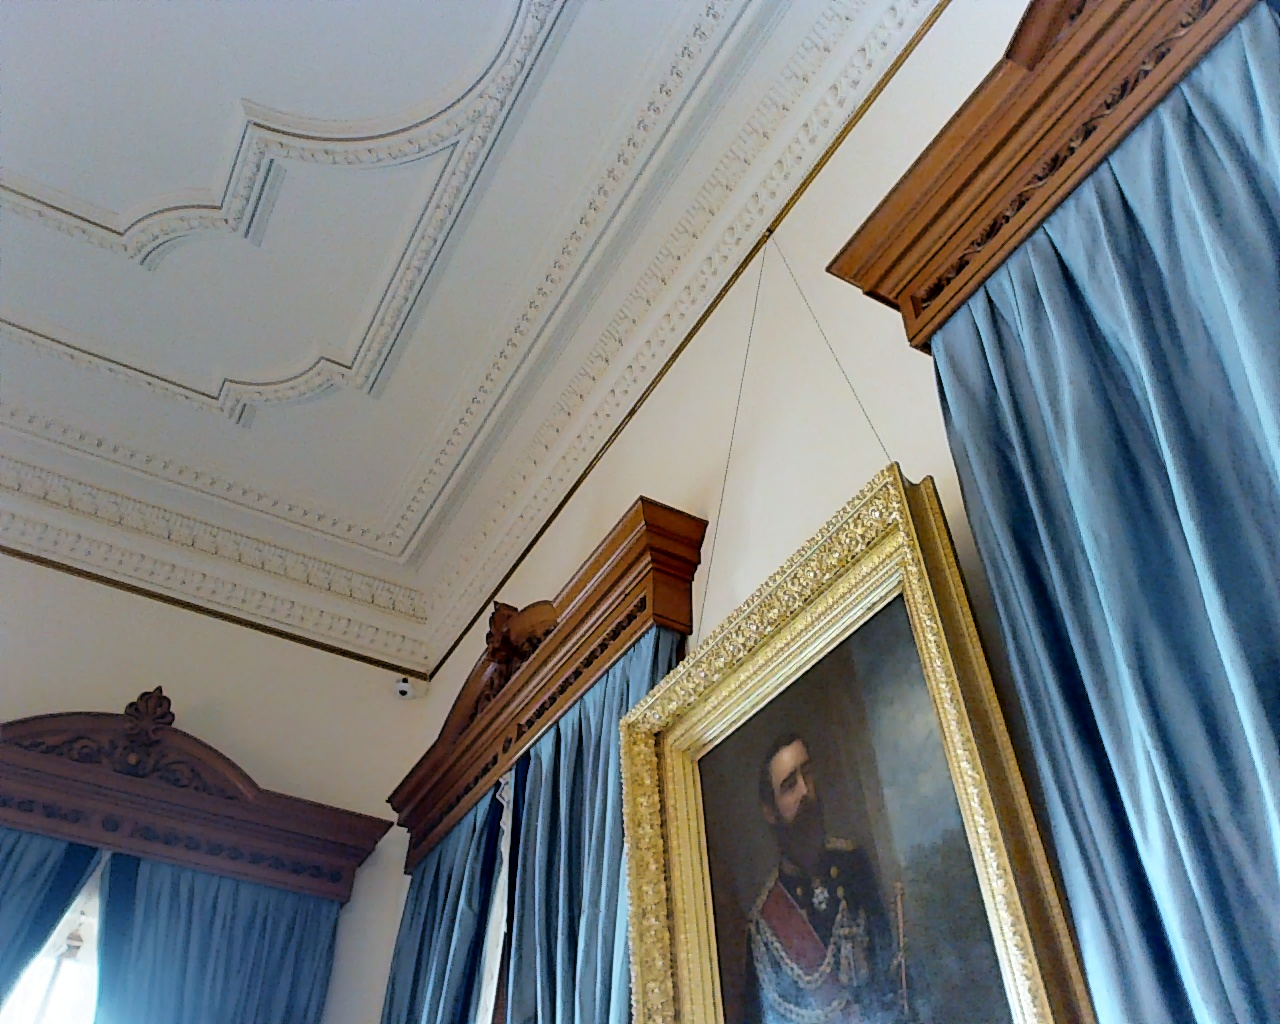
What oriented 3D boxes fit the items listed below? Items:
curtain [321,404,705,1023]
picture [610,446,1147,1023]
[{"bbox_3d":[-0.590,2.021,3.230,0.270,4.401,2.520,21,-47,-22],"label":"curtain"},{"bbox_3d":[0.340,0.850,2.280,0.180,1.590,1.310,21,-51,-21],"label":"picture"}]
